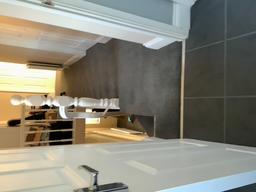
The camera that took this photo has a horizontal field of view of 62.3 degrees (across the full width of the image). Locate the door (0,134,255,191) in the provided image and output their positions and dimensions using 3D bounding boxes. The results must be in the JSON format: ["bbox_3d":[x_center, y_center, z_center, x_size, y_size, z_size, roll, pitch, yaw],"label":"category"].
[{"bbox_3d":[-0.350,0.240,0.640,0.910,1.730,0.090,-7,81,59],"label":"door"}]
